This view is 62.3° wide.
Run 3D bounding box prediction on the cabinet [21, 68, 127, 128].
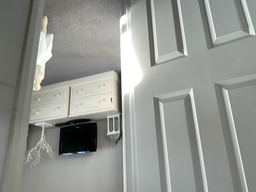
[{"bbox_3d":[-0.860,0.090,3.340,1.650,0.580,0.430,-11,158,22],"label":"cabinet"}]
